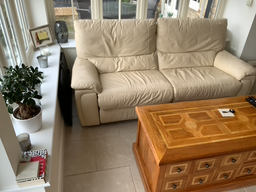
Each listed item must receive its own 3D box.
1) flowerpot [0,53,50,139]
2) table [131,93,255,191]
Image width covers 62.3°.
[{"bbox_3d":[-0.710,0.000,1.490,0.220,0.510,0.300,-6,35,-13],"label":"flowerpot"},{"bbox_3d":[0.690,0.410,1.840,1.190,0.540,0.600,-5,35,-12],"label":"table"}]
